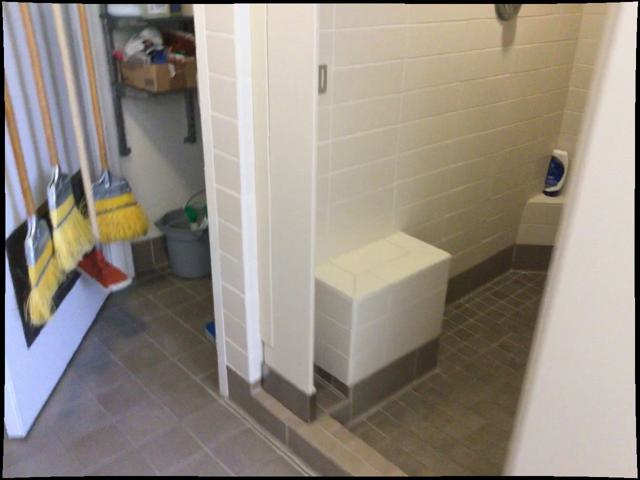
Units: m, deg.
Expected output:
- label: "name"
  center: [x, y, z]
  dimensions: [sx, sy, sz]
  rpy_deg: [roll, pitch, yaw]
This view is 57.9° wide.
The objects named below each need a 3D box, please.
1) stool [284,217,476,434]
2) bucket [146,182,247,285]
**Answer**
- label: "stool"
  center: [0.200, 0.250, 1.900]
  dimensions: [0.580, 0.450, 0.270]
  rpy_deg: [-21, 33, -36]
- label: "bucket"
  center: [-0.559, -0.040, 2.640]
  dimensions: [0.310, 0.310, 0.310]
  rpy_deg: [-21, 33, -36]
